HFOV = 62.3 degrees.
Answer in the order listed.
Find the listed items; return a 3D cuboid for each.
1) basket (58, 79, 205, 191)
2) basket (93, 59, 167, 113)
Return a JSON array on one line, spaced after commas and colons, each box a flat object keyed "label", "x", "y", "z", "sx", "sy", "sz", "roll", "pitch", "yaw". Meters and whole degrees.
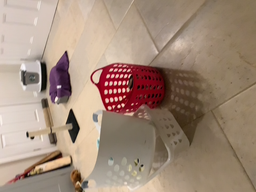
[{"label": "basket", "x": -0.030, "y": 0.290, "z": 1.330, "sx": 0.600, "sy": 0.560, "sz": 0.510, "roll": -51, "pitch": 55, "yaw": 45}, {"label": "basket", "x": 0.000, "y": -0.060, "z": 1.470, "sx": 0.400, "sy": 0.300, "sz": 0.300, "roll": -10, "pitch": 87, "yaw": 54}]
